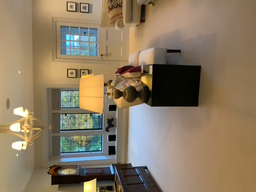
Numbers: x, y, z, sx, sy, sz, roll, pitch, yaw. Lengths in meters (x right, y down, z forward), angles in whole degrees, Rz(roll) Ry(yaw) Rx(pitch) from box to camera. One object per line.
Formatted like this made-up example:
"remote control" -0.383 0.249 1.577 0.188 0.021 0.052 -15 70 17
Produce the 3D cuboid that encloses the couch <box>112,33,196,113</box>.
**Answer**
"couch" 0.300 -0.310 2.940 0.760 0.900 0.930 -145 56 -74
